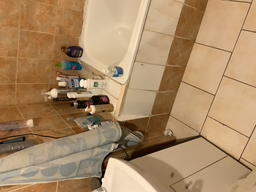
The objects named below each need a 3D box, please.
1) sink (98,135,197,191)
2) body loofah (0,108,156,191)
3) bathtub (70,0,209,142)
[{"bbox_3d":[0.090,0.510,0.930,0.530,0.140,0.420,37,119,41],"label":"sink"},{"bbox_3d":[-0.300,0.290,1.170,0.290,0.950,0.260,36,119,41],"label":"body loofah"},{"bbox_3d":[0.120,-0.730,1.550,0.710,0.540,1.940,33,117,43],"label":"bathtub"}]
